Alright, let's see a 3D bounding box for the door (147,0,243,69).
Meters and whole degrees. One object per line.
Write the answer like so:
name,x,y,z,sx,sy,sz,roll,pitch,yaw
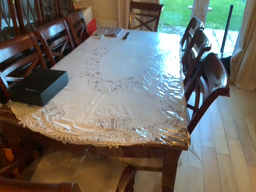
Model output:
door,1.010,-1.330,3.230,1.270,1.770,0.100,10,33,10
